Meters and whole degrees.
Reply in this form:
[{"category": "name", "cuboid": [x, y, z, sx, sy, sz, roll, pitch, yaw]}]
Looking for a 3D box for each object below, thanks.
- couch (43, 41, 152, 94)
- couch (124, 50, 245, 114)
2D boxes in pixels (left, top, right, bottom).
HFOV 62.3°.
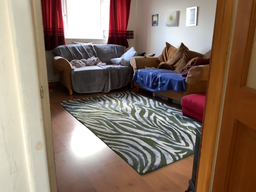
[{"category": "couch", "cuboid": [-0.630, -0.720, 4.760, 2.160, 0.930, 0.930, -8, 18, -32]}, {"category": "couch", "cuboid": [0.900, -0.420, 4.090, 1.020, 0.790, 2.060, -8, 18, -32]}]
